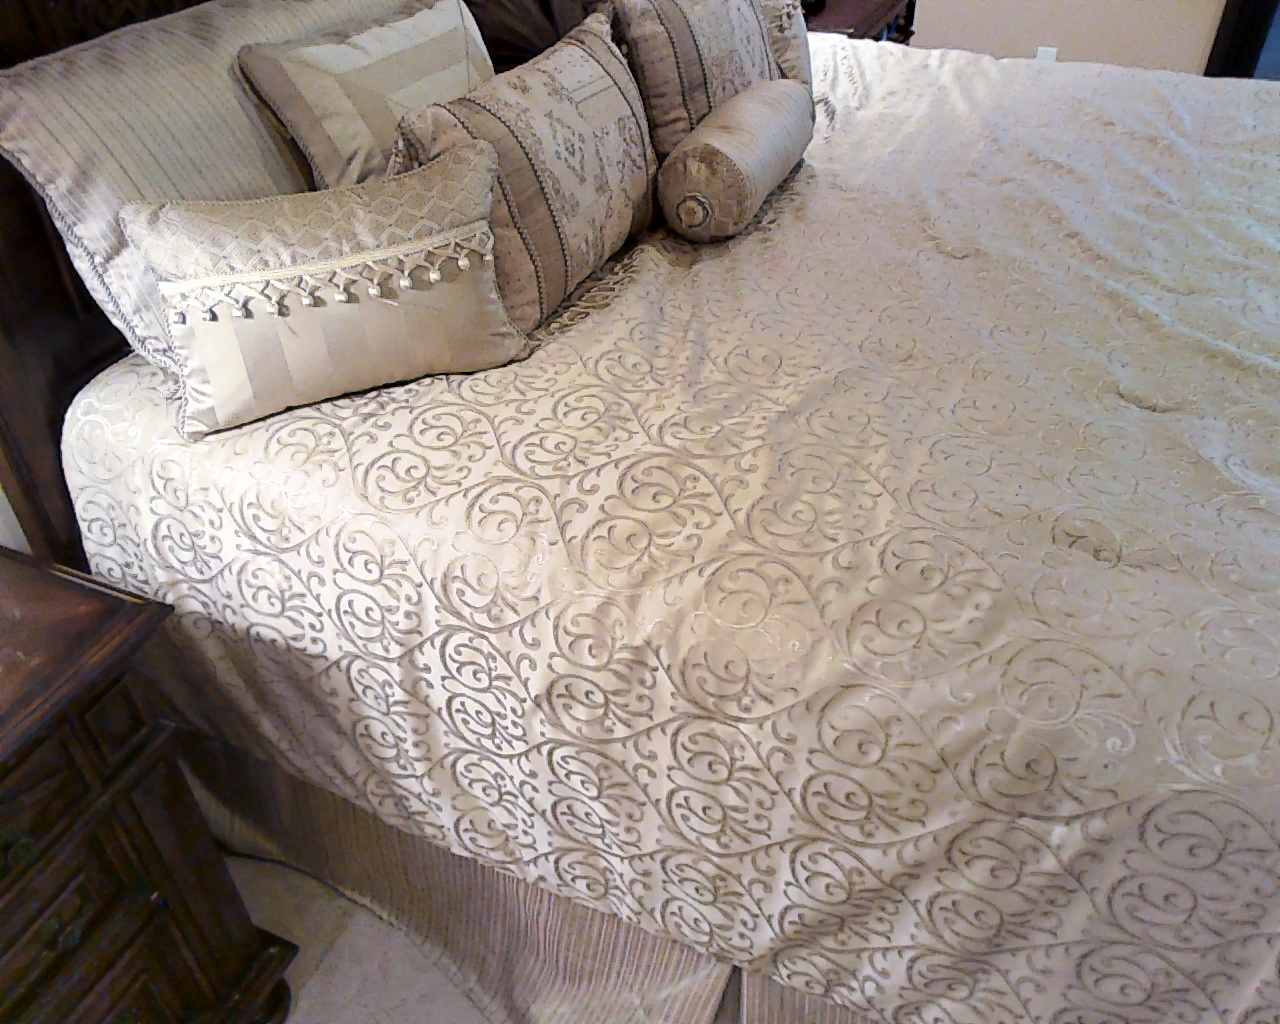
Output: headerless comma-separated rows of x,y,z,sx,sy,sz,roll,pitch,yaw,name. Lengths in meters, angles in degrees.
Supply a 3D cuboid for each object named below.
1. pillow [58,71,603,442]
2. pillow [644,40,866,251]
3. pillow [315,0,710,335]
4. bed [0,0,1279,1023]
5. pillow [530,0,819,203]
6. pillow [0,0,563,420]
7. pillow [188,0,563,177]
-0.350,-0.320,1.280,0.550,0.260,0.240,-16,41,-16,pillow
0.200,-0.610,1.730,0.160,0.130,0.550,16,43,21,pillow
-0.140,-0.520,1.510,0.270,0.250,0.570,16,43,21,pillow
0.660,-0.160,1.890,2.191,0.900,2.440,16,43,21,bed
0.090,-0.810,1.860,0.240,0.270,0.650,16,43,21,pillow
-0.450,-0.560,1.510,0.240,0.400,0.910,16,43,21,pillow
-0.340,-0.660,1.510,0.220,0.150,0.530,16,43,21,pillow
